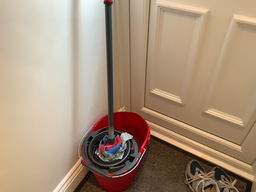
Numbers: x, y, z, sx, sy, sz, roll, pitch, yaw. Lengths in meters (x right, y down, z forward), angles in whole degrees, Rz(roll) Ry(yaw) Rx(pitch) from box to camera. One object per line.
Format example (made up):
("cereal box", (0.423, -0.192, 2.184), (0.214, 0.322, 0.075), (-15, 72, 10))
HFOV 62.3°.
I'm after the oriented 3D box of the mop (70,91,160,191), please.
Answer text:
("mop", (-0.040, 0.240, 1.080), (0.240, 0.270, 0.420), (20, 48, 19))
